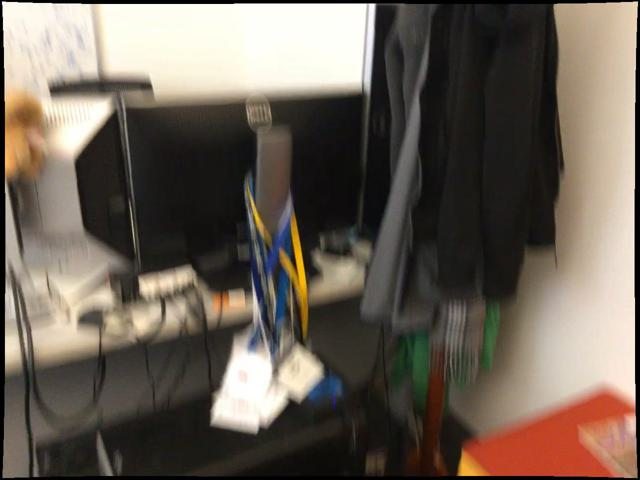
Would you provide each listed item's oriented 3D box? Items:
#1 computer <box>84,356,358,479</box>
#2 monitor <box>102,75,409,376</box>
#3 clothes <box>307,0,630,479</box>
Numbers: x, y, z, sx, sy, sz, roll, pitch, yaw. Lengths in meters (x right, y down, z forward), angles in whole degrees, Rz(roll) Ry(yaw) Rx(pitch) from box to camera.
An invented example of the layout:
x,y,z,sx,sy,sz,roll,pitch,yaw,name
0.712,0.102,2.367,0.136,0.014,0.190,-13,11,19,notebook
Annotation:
x,y,z,sx,sy,sz,roll,pitch,yaw,name
-0.200,0.420,1.200,0.500,0.130,0.240,-10,26,-25,computer
-0.130,-0.060,1.300,0.590,0.550,0.220,-10,26,-25,monitor
0.270,-0.130,1.340,0.410,1.451,0.490,-10,26,-25,clothes
